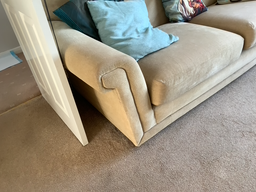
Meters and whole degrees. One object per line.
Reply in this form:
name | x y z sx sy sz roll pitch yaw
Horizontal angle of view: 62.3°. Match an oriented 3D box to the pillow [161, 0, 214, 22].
pillow | 0.480 -0.850 1.710 0.440 0.390 0.140 -25 27 -23
